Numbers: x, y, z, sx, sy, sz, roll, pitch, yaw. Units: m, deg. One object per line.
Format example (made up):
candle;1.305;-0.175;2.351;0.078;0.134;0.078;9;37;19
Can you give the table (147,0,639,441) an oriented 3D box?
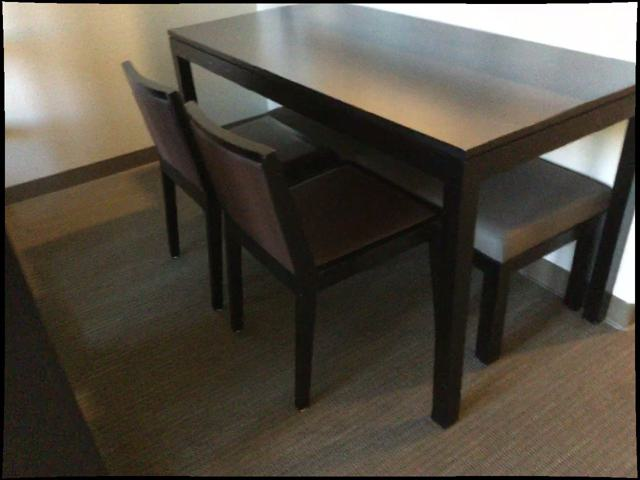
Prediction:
table;0.130;-0.281;2.060;0.759;0.811;1.639;-23;37;-27
